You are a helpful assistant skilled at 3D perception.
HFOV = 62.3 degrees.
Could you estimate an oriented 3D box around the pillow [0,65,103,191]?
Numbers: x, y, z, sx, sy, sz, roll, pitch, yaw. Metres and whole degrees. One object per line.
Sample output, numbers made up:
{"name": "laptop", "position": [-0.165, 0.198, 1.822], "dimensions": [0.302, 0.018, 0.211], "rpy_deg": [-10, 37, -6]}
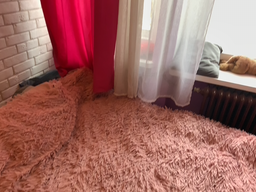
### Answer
{"name": "pillow", "position": [-0.630, 0.090, 1.390], "dimensions": [0.530, 0.180, 0.950], "rpy_deg": [16, 32, 19]}
